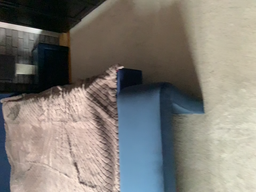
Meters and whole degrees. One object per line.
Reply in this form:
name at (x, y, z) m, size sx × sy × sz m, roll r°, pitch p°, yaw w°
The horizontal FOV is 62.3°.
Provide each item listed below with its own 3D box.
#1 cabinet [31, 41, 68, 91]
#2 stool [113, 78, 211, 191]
cabinet at (-1.120, -0.390, 3.000) m, size 0.400 × 0.380 × 0.610 m, roll -7°, pitch 84°, yaw 51°
stool at (0.220, 0.690, 1.300) m, size 0.390 × 0.430 × 1.530 m, roll -7°, pitch 84°, yaw 51°
